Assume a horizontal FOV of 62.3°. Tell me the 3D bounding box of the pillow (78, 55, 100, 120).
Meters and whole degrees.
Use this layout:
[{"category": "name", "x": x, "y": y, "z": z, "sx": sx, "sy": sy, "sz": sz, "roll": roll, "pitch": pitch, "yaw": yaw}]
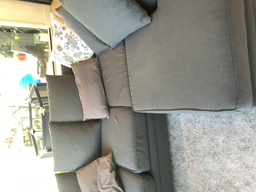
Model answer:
[{"category": "pillow", "x": -0.330, "y": -0.060, "z": 1.820, "sx": 0.070, "sy": 0.240, "sz": 0.530, "roll": -6, "pitch": 82, "yaw": 11}]
